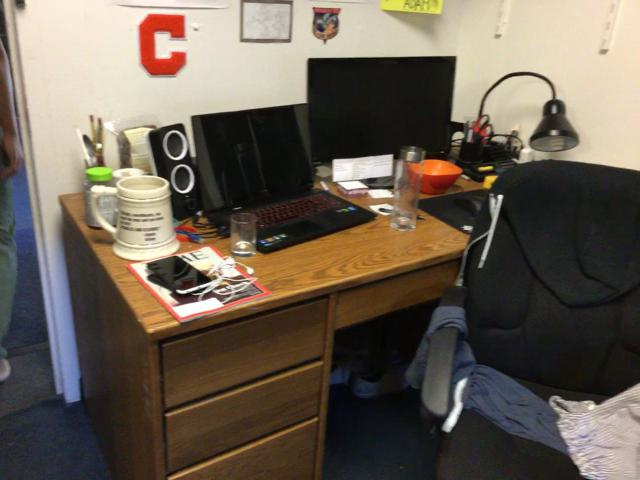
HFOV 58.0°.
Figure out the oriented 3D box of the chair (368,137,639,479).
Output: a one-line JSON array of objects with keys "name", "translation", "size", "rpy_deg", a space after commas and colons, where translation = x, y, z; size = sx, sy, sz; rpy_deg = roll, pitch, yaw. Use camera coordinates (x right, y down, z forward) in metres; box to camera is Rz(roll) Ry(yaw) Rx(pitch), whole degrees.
[{"name": "chair", "translation": [0.550, 0.390, 1.250], "size": [0.800, 1.000, 0.760], "rpy_deg": [8, 23, 11]}]
